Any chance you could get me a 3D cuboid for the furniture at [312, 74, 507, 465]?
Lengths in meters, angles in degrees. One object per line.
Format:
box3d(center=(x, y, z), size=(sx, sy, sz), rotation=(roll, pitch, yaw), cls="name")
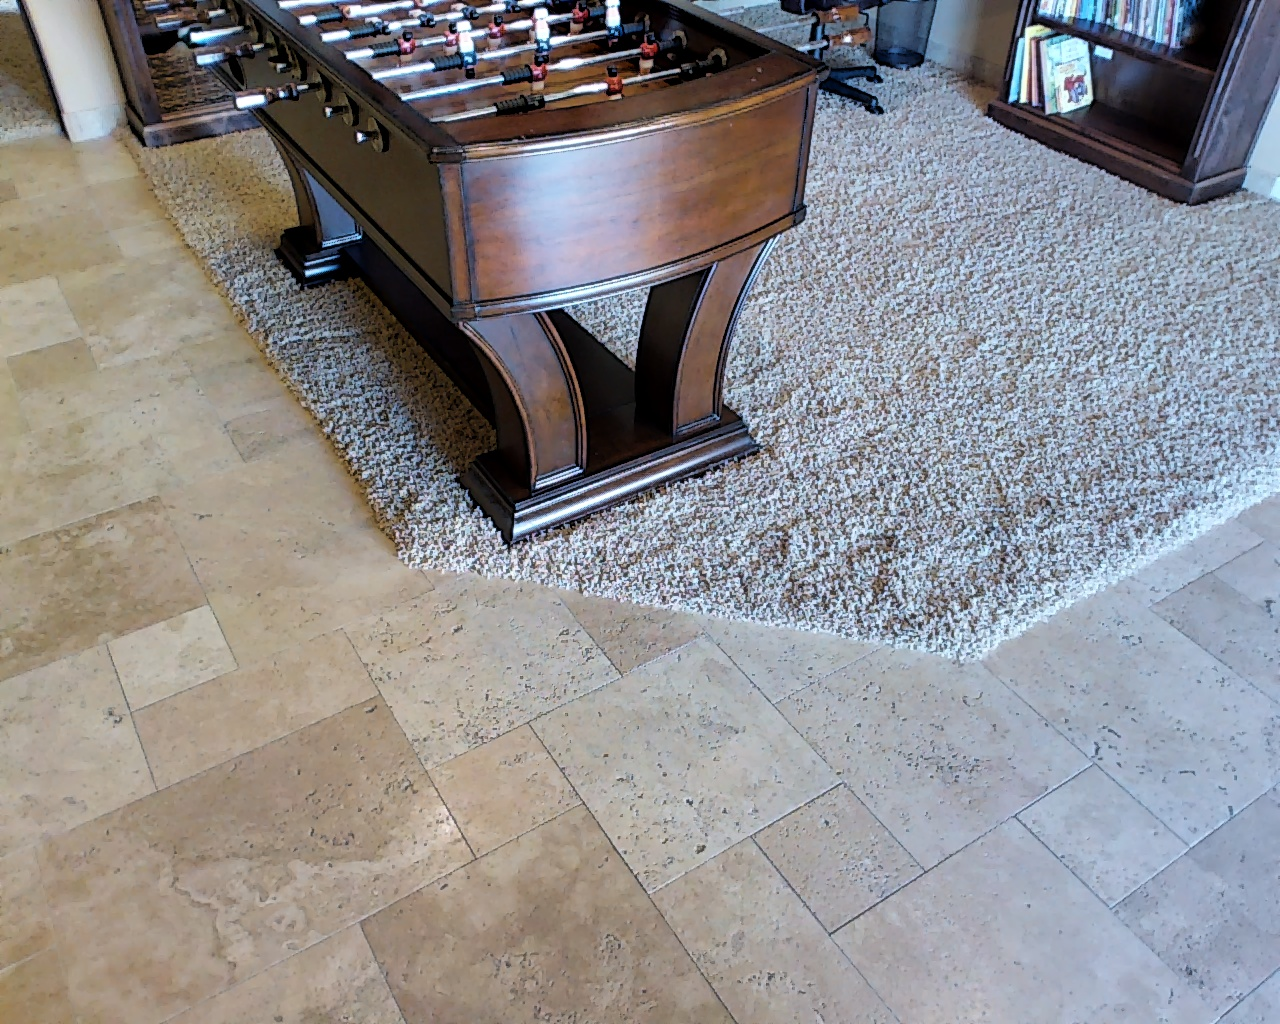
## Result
box3d(center=(-0.380, -0.400, 1.870), size=(0.210, 0.640, 0.170), rotation=(10, 42, 9), cls="furniture")
